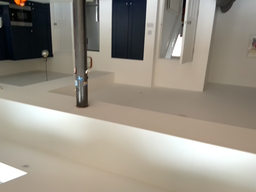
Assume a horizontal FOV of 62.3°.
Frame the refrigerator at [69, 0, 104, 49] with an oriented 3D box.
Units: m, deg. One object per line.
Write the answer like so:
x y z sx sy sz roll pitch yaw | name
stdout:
-1.030 -2.180 5.340 0.760 1.900 0.400 9 -162 20 | refrigerator
